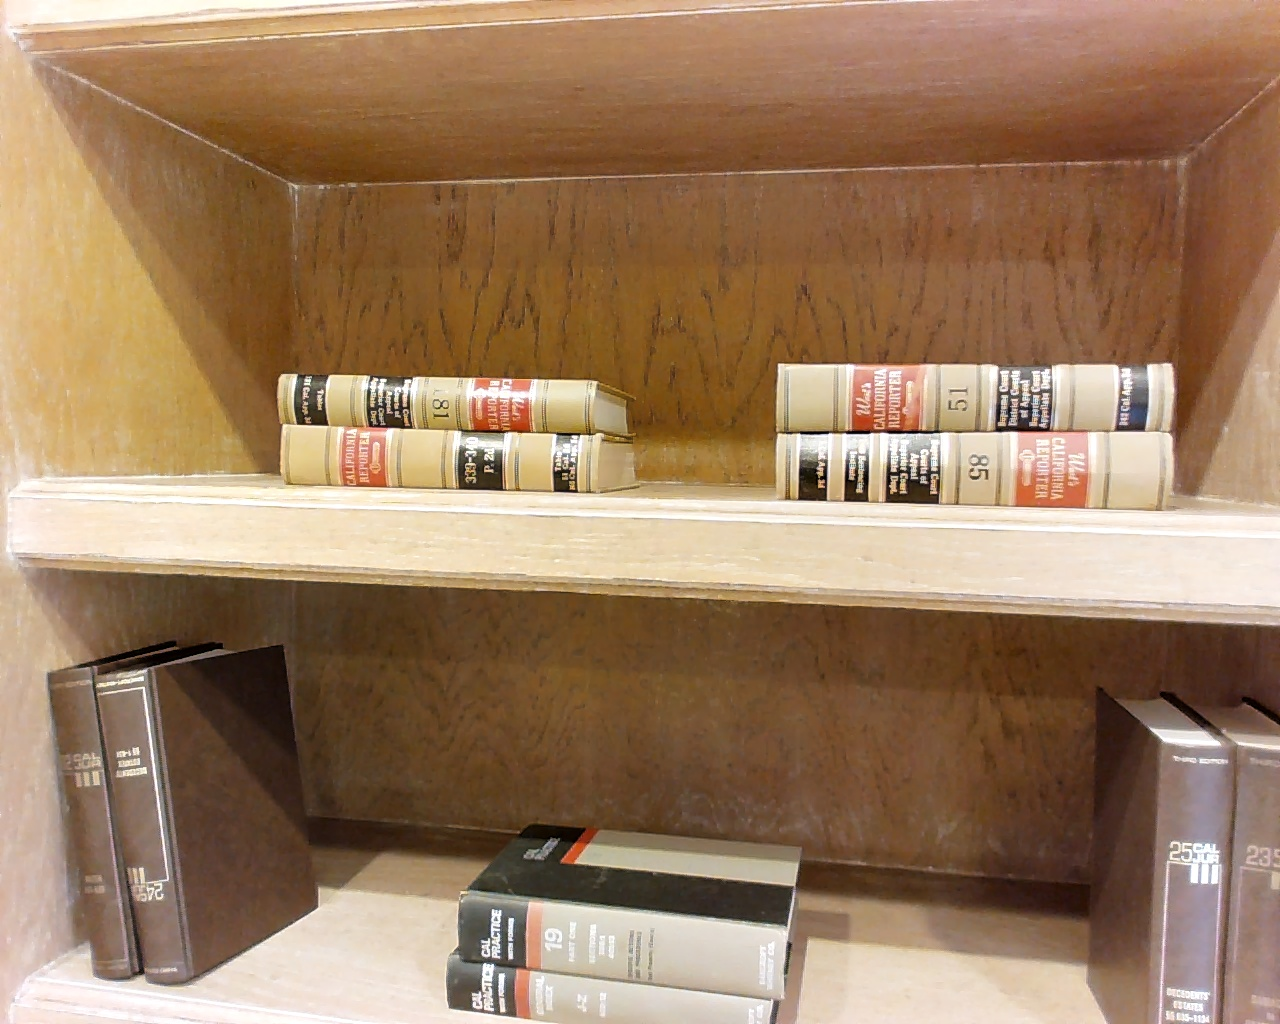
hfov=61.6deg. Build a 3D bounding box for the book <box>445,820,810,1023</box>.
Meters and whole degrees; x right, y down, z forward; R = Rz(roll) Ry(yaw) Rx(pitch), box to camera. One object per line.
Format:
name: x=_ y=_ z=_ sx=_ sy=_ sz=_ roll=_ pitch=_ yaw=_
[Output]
book: x=0.000 y=0.350 z=0.900 sx=0.270 sy=0.100 sz=0.190 roll=1 pitch=3 yaw=12
